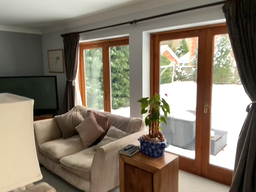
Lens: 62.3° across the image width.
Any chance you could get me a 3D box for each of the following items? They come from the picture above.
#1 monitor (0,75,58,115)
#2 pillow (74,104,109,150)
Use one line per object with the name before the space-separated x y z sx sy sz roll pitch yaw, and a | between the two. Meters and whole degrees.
monitor | -2.000 -0.030 4.180 1.130 0.760 0.080 -1 8 -4
pillow | -0.560 0.450 3.150 0.240 0.520 0.400 -6 33 -43
